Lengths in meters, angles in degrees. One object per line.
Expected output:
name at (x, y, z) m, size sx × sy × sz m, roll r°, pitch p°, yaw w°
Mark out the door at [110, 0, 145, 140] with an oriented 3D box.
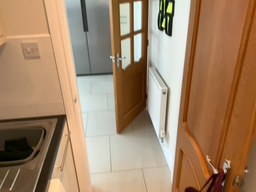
door at (0.030, -0.470, 2.520) m, size 0.040 × 1.950 × 0.750 m, roll 12°, pitch 30°, yaw 23°
